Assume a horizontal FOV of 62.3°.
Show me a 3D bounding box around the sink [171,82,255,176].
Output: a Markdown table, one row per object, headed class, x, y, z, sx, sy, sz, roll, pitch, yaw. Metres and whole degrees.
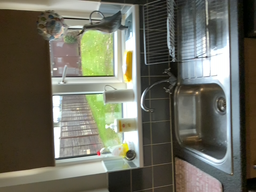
| class | x | y | z | sx | sy | sz | roll | pitch | yaw |
| --- | --- | --- | --- | --- | --- | --- | --- | --- | --- |
| sink | 0.460 | 0.130 | 1.180 | 0.520 | 0.210 | 0.400 | -174 | 82 | -73 |
